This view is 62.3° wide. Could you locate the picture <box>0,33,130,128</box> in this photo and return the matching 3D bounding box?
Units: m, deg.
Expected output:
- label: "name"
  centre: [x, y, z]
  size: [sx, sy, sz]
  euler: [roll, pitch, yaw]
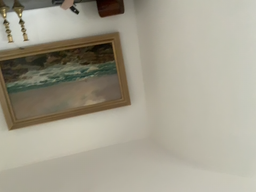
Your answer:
- label: "picture"
  centre: [-0.530, -0.130, 1.770]
  size: [1.020, 0.630, 0.080]
  euler: [-10, -163, -7]
